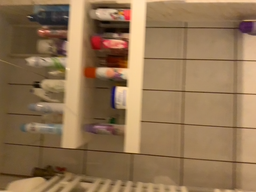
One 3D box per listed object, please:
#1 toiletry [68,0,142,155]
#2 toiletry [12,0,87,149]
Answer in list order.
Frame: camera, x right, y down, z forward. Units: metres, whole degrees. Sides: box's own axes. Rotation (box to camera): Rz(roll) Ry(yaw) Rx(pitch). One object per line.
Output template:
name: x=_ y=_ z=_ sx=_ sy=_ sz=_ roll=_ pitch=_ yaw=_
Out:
toiletry: x=-0.080 y=-0.080 z=0.920 sx=0.250 sy=0.240 sz=0.590 roll=24 pitch=-111 yaw=-83
toiletry: x=-0.330 y=-0.090 z=0.950 sx=0.230 sy=0.200 sz=0.590 roll=24 pitch=-111 yaw=-83
